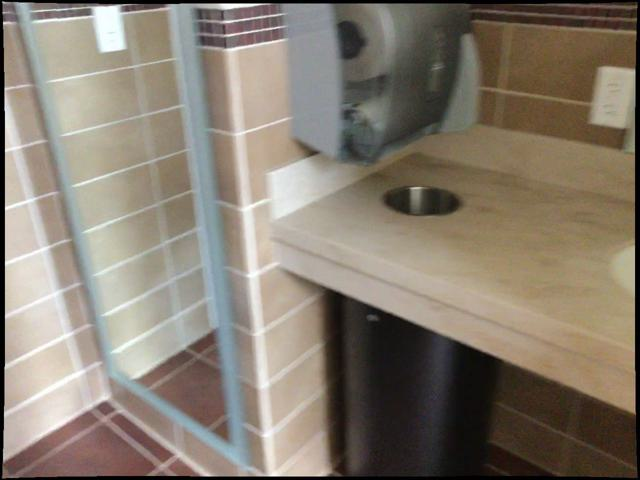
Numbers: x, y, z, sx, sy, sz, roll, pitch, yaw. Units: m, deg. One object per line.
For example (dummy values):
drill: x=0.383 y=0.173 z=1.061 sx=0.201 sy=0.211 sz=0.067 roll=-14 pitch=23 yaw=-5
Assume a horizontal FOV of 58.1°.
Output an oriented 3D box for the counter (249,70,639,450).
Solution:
counter: x=0.618 y=0.020 z=0.950 sx=1.468 sy=0.381 sz=0.580 roll=19 pitch=33 yaw=36
